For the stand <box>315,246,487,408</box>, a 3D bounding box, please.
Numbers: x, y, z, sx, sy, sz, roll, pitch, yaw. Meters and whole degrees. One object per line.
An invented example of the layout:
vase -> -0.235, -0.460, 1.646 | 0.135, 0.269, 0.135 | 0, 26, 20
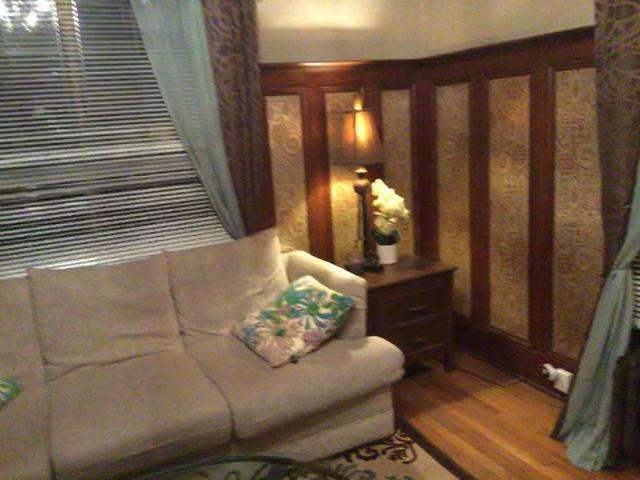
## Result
stand -> 0.430, 0.420, 3.110 | 0.710, 0.640, 0.530 | -8, 9, -26

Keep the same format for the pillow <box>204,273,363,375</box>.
pillow -> -0.180, 0.340, 2.560 | 0.510, 0.240, 0.570 | -7, 9, -25
